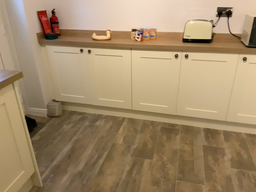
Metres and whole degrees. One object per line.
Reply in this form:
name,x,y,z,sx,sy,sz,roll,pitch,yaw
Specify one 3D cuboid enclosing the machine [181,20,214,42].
machine,0.670,-0.640,2.070,0.280,0.170,0.210,6,27,14
